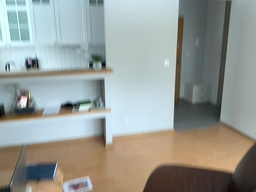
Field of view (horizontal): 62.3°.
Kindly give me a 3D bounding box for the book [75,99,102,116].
[{"bbox_3d":[-0.580,0.160,3.090,0.360,0.150,0.300,-5,14,-16],"label":"book"}]
